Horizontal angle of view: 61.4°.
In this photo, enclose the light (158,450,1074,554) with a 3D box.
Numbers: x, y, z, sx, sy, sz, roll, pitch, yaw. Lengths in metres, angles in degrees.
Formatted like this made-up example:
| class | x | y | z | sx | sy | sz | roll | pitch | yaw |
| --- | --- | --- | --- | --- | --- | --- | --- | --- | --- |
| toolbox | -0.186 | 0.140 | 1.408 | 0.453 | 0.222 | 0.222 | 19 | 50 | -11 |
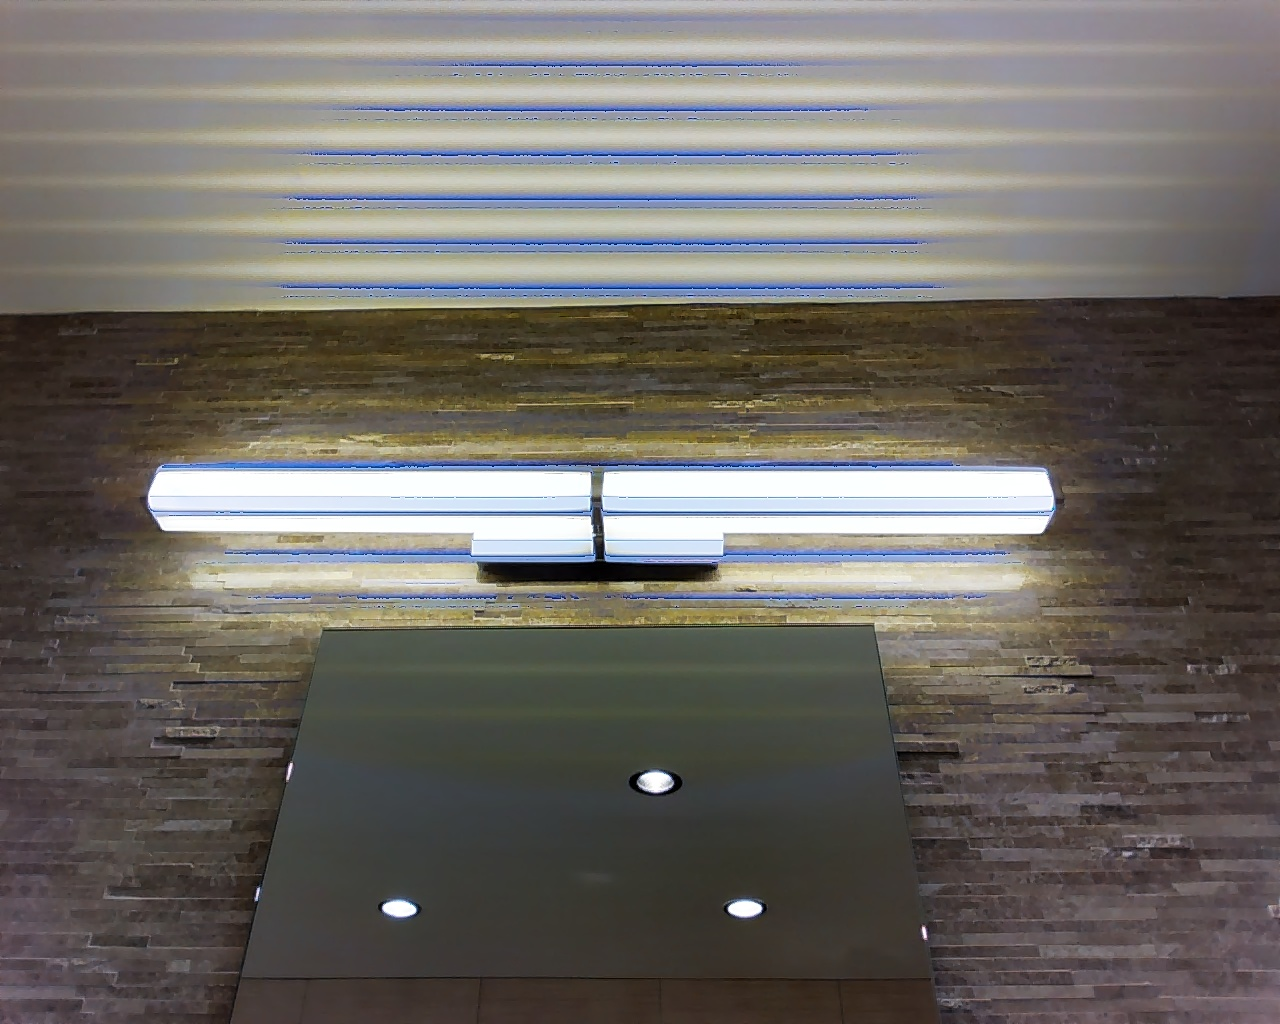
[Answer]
| class | x | y | z | sx | sy | sz | roll | pitch | yaw |
| --- | --- | --- | --- | --- | --- | --- | --- | --- | --- |
| light | -0.030 | -0.010 | 1.230 | 1.000 | 0.070 | 0.080 | -1 | -41 | 1 |
